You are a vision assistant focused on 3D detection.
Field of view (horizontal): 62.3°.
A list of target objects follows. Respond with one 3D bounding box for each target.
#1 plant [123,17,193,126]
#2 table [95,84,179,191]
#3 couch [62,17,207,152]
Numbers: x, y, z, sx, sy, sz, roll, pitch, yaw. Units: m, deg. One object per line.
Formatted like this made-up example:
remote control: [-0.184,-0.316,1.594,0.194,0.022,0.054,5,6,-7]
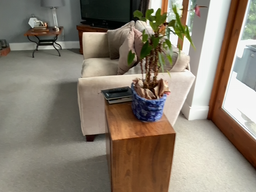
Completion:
plant: [0.130,-0.160,1.240,0.270,0.510,0.400,-3,29,-7]
table: [0.010,0.320,1.490,0.420,0.600,0.570,-4,29,-9]
couch: [-0.080,-0.330,2.440,1.050,0.840,1.700,-4,29,-9]
